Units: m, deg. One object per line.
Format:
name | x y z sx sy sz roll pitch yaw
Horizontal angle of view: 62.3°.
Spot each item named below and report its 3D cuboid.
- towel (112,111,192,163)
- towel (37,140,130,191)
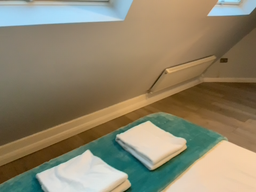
towel | 0.180 0.280 1.610 0.420 0.060 0.430 -19 30 -39
towel | -0.260 0.450 1.240 0.390 0.090 0.380 -18 29 -37
